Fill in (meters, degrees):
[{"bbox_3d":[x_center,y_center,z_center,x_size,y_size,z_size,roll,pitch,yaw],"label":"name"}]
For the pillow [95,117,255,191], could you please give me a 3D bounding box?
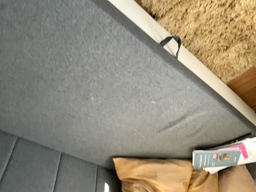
[{"bbox_3d":[0.310,0.550,1.280,0.810,0.290,0.600,31,127,-29],"label":"pillow"}]
